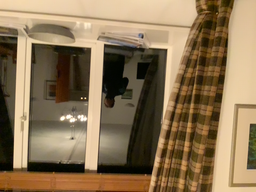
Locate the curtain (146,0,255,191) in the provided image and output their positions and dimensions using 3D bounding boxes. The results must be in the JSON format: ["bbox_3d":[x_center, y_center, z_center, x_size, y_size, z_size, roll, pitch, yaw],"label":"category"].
[{"bbox_3d":[0.410,0.010,1.260,0.510,2.000,0.190,3,-177,-4],"label":"curtain"}]

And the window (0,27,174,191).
[{"bbox_3d":[-0.550,0.150,1.660,1.750,1.270,0.110,3,-177,-5],"label":"window"}]
